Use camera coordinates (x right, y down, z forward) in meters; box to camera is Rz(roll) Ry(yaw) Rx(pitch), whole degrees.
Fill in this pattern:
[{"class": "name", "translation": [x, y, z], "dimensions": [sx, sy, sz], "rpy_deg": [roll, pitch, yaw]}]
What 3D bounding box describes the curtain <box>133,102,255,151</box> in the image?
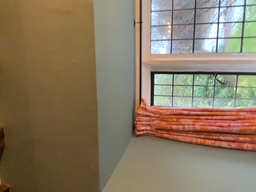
[{"class": "curtain", "translation": [0.650, 0.250, 1.840], "dimensions": [0.150, 1.200, 0.330], "rpy_deg": [-19, -70, -75]}]
